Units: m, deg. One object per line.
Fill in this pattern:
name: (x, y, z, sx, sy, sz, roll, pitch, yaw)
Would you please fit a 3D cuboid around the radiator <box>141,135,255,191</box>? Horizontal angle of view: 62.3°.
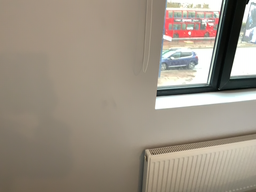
radiator: (0.700, 0.550, 1.540, 1.240, 0.530, 0.060, -4, 25, -15)
